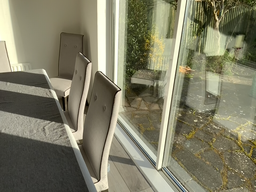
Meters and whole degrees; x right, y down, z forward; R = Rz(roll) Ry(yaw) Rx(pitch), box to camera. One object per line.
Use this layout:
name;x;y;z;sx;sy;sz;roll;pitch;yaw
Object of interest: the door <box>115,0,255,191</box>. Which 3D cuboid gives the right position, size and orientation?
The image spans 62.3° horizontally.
door;0.370;-0.140;1.660;0.100;1.890;2.330;-8;27;-22
